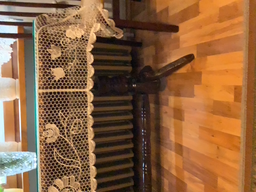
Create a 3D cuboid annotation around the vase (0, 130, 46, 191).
[{"bbox_3d":[-0.640,0.330,1.120,0.310,0.370,0.210,-175,85,-67],"label":"vase"}]
